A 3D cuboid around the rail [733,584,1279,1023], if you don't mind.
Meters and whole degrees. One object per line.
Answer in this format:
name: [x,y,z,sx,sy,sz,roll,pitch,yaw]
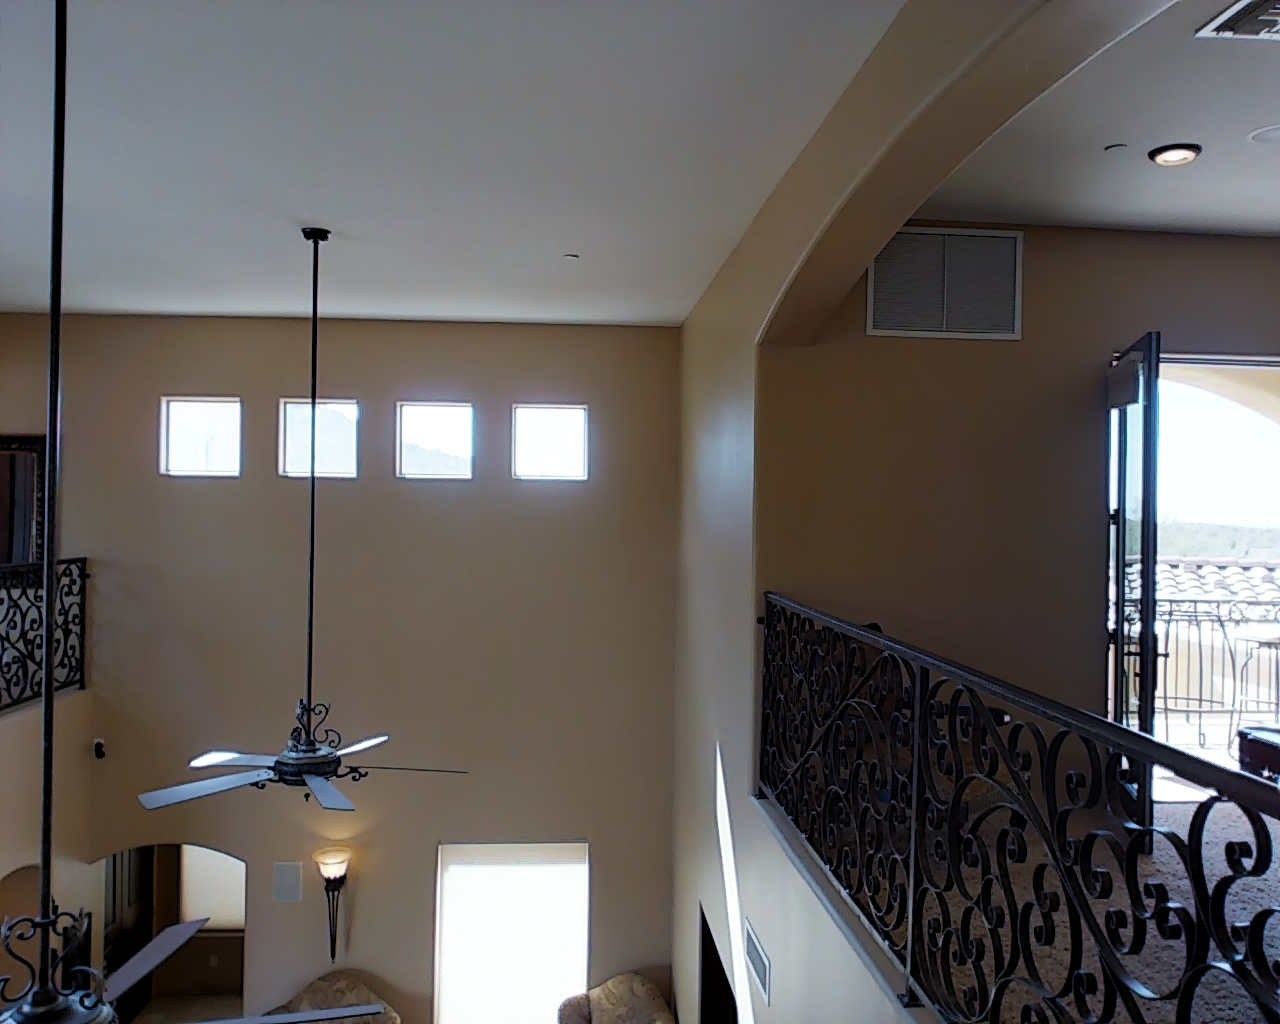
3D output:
rail: [0.800,0.940,3.150,0.270,1.150,4.580,1,0,-5]
